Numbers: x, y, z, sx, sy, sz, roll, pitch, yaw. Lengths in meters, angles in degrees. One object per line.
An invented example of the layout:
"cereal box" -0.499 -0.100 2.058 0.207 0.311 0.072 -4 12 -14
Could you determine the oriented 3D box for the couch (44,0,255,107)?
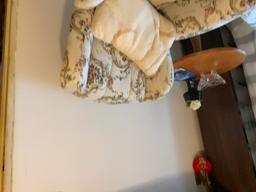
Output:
"couch" 0.080 -0.480 1.110 0.740 0.870 0.820 7 161 -40
